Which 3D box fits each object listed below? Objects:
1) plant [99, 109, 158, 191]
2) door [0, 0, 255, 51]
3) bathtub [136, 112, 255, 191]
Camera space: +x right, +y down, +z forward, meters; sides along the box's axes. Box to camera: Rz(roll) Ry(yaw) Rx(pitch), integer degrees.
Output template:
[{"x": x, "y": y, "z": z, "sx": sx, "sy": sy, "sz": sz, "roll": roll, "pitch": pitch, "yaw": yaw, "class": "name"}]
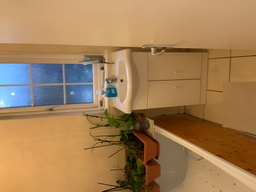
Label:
[{"x": -0.010, "y": 0.530, "z": 1.980, "sx": 0.460, "sy": 0.400, "sz": 0.730, "roll": -163, "pitch": 71, "yaw": -68, "class": "plant"}, {"x": 0.230, "y": -0.250, "z": 0.690, "sx": 0.770, "sy": 1.940, "sz": 0.050, "roll": -174, "pitch": 81, "yaw": -69, "class": "door"}, {"x": 0.660, "y": 0.640, "z": 1.610, "sx": 1.690, "sy": 0.570, "sz": 0.700, "roll": -163, "pitch": 72, "yaw": -68, "class": "bathtub"}]
